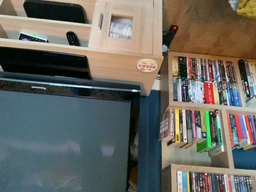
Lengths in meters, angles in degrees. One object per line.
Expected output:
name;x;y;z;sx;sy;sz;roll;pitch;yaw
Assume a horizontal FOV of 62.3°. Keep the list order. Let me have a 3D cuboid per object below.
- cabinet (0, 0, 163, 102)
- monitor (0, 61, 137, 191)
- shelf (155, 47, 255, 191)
cabinet;-0.430;-0.330;1.270;1.180;0.460;0.480;6;154;-4
monitor;-0.460;0.160;0.980;0.970;0.680;0.060;6;154;-3
shelf;0.700;0.570;1.400;0.980;1.810;0.360;6;154;-4
